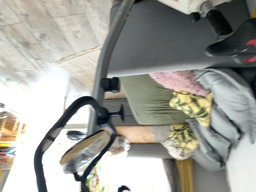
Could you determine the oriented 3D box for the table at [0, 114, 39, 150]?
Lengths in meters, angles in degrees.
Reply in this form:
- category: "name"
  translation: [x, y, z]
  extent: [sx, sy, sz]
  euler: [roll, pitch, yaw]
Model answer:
- category: "table"
  translation: [-2.050, 0.640, 3.690]
  extent: [0.710, 0.460, 0.480]
  euler: [-3, 151, 9]
